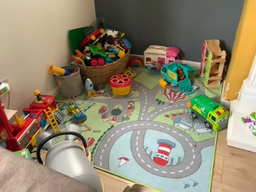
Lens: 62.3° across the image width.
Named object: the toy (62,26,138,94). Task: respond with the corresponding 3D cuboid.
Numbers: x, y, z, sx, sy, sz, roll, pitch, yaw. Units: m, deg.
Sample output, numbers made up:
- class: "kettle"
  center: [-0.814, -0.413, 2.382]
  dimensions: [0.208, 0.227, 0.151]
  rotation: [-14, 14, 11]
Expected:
- class: "toy"
  center: [-0.240, -0.370, 2.050]
  dimensions: [0.520, 0.410, 0.460]
  rotation: [15, 40, 22]
